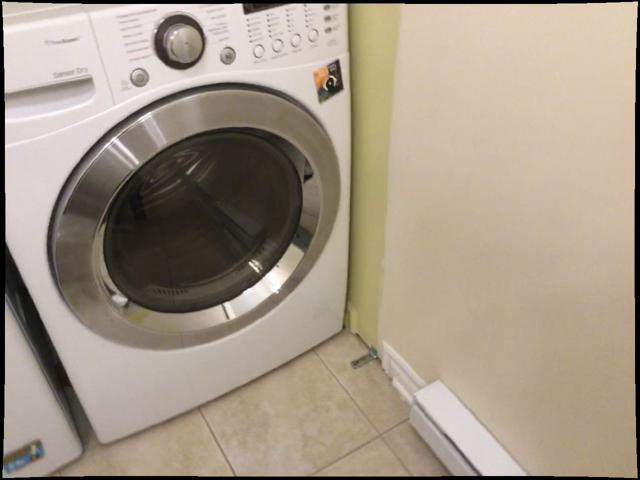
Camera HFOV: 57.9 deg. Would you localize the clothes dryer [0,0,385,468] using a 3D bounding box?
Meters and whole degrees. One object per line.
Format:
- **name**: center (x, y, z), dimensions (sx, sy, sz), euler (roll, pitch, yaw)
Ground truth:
- **clothes dryer**: center (-0.380, -0.170, 1.390), dimensions (0.710, 0.971, 0.740), euler (-22, 46, -23)
